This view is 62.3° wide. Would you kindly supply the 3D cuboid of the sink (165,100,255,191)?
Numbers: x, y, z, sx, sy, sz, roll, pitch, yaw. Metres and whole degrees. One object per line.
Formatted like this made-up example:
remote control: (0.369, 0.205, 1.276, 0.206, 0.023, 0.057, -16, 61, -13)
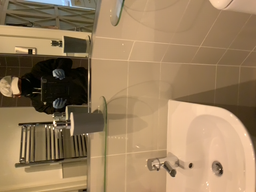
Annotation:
sink: (0.340, 0.310, 0.850, 0.450, 0.150, 0.540, -166, 77, -68)
